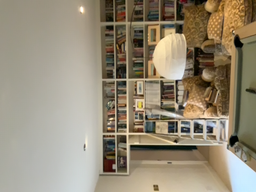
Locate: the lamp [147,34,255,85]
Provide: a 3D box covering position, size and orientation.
[{"bbox_3d":[1.060,-0.610,3.410,0.820,1.460,0.690,-86,-5,-76],"label":"lamp"}]

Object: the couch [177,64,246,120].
[{"bbox_3d":[1.420,-0.010,3.860,1.080,0.810,0.820,78,-169,-81],"label":"couch"}]

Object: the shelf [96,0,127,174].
[{"bbox_3d":[-0.350,-0.500,4.640,0.310,0.570,4.340,-54,-37,-87],"label":"shelf"}]

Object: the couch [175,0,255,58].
[{"bbox_3d":[1.390,-1.150,3.580,1.770,0.820,0.880,-86,-5,-76],"label":"couch"}]
